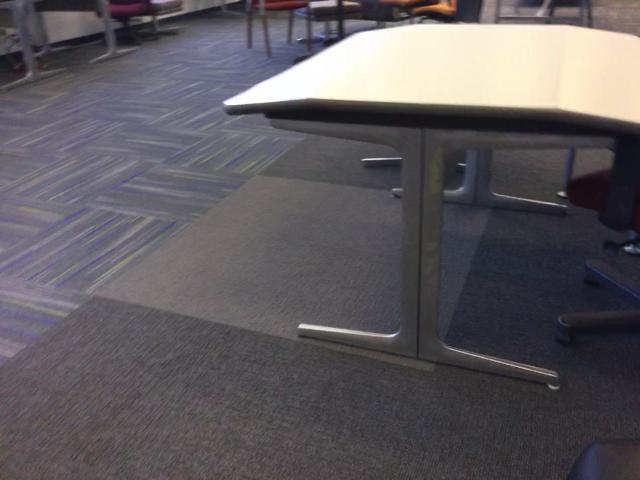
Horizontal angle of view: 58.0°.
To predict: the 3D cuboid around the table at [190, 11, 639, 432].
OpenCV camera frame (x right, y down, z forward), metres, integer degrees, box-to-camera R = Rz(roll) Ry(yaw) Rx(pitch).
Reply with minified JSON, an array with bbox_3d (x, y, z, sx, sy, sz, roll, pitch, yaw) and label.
[{"bbox_3d":[0.470,-0.270,1.980,1.130,0.820,1.340,10,29,22],"label":"table"}]
